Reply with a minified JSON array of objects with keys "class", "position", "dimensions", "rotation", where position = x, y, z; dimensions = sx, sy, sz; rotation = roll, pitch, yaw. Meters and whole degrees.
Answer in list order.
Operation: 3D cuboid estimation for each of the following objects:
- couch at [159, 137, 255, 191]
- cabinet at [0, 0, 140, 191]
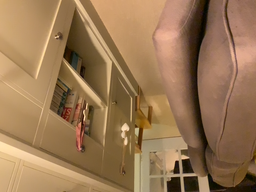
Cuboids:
[{"class":"couch","position":[1.420,1.380,3.580],"dimensions":[1.600,0.750,0.940],"rotation":[28,140,-35]},{"class":"cabinet","position":[-0.350,-0.040,1.180],"dimensions":[0.390,0.940,1.520],"rotation":[-9,147,18]}]
